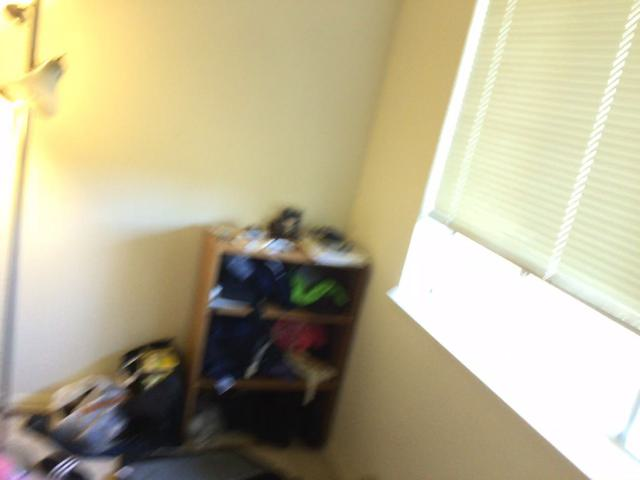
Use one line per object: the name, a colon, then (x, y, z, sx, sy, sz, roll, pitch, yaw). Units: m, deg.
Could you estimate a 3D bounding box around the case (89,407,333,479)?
case: (-0.320, 0.920, 2.030, 0.700, 0.180, 0.780, 3, 16, -40)
